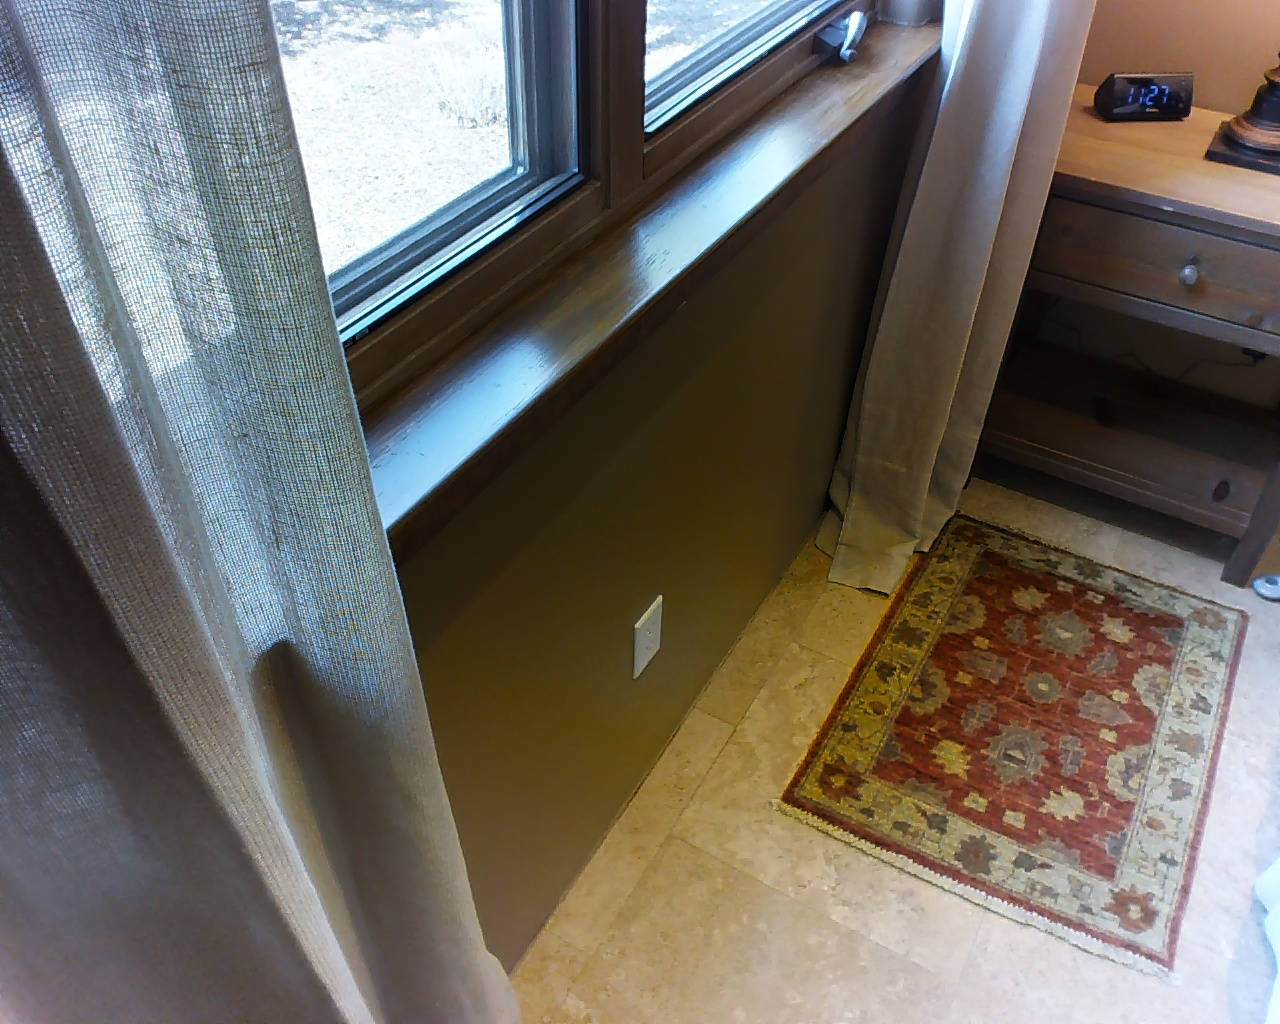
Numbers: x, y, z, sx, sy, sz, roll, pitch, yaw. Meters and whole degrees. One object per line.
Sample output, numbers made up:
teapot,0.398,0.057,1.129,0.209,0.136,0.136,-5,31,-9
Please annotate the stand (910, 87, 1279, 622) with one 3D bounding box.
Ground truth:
stand,1.010,-0.320,2.070,0.700,0.700,0.510,22,45,21
